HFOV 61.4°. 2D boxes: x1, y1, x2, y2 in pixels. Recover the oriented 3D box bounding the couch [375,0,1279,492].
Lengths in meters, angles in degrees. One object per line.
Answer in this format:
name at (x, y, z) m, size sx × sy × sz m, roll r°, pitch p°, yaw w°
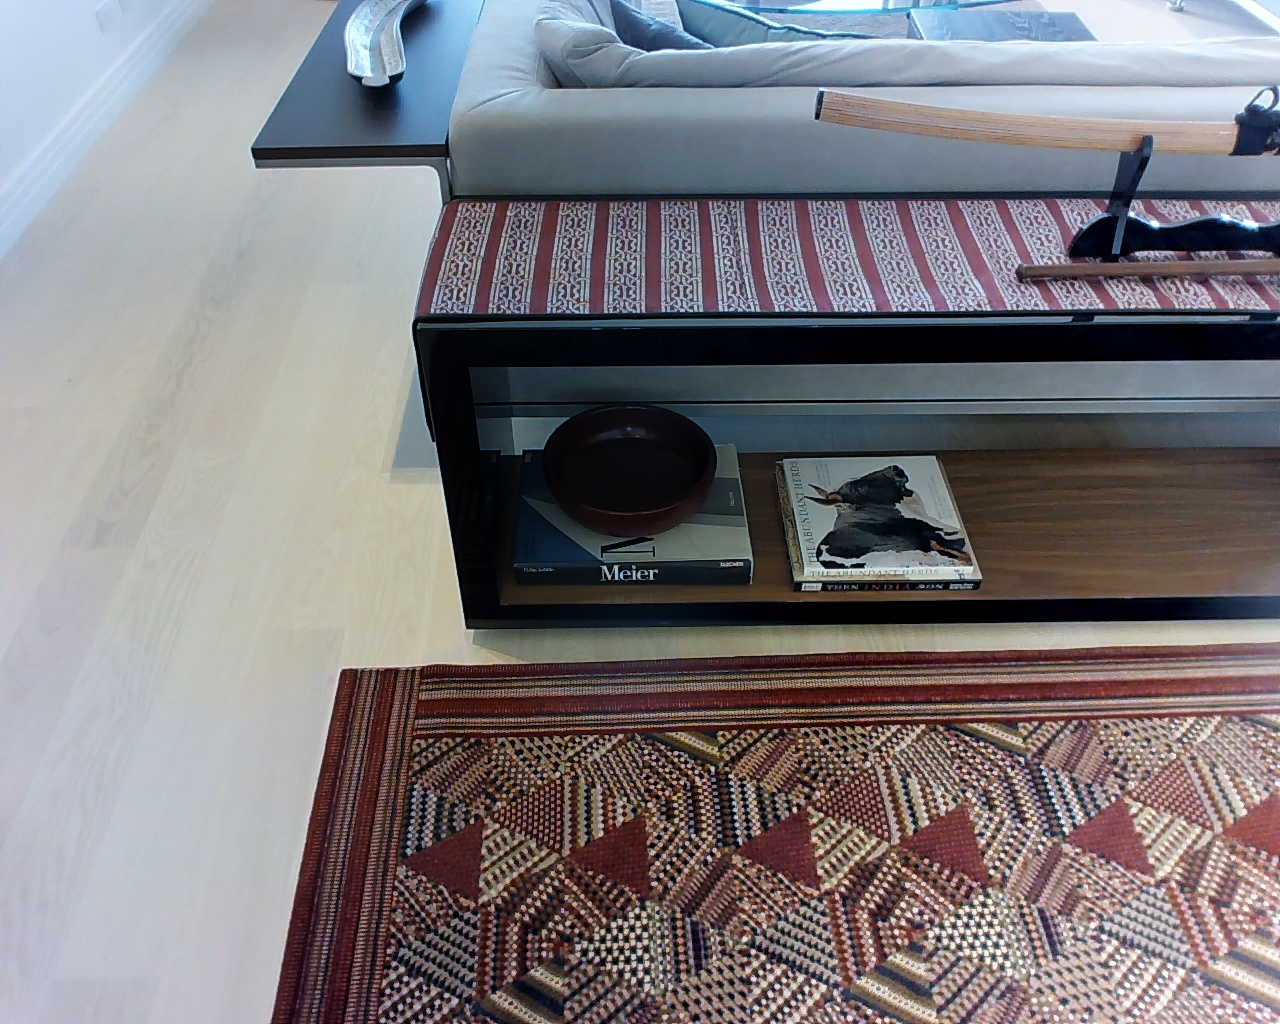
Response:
couch at (0.830, -0.700, 2.250) m, size 2.450 × 0.820 × 1.010 m, roll -1°, pitch 42°, yaw 0°
